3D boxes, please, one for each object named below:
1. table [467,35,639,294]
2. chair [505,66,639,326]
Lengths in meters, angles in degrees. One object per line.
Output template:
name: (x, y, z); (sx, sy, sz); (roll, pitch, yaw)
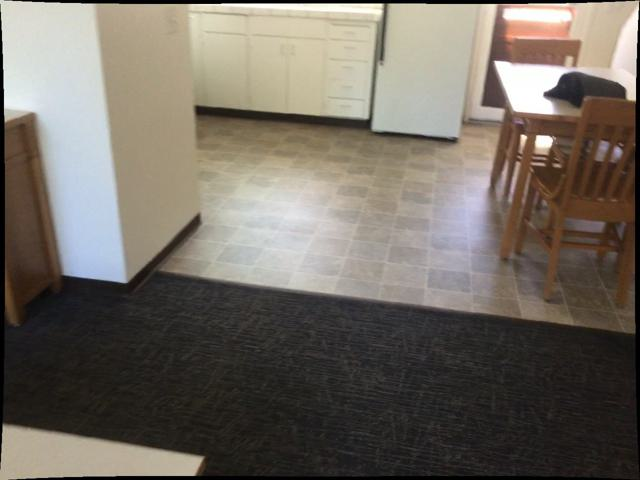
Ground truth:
table: (1.298, -0.511, 3.070); (0.829, 0.861, 1.490); (7, 28, 9)
chair: (1.168, -0.210, 2.460); (0.519, 0.891, 0.620); (7, 28, 9)
